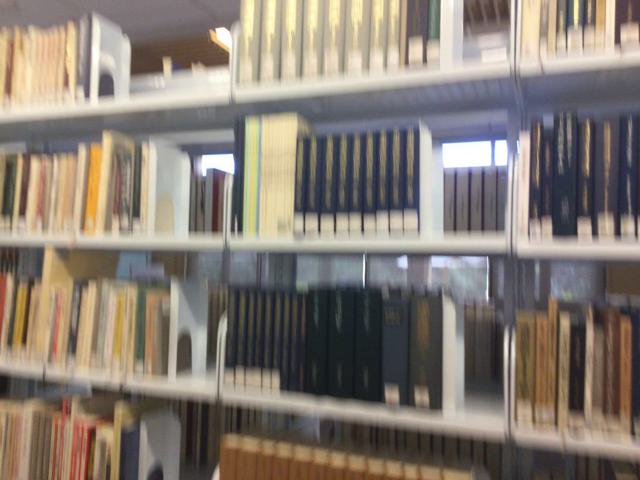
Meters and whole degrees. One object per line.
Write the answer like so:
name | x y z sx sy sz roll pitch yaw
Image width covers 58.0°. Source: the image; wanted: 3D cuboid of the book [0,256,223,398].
book | -0.660 0.200 1.530 0.760 0.270 0.240 3 0 19

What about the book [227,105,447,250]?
book | 0.040 -0.130 1.260 0.430 0.270 0.170 3 -4 20

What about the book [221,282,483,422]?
book | 0.070 0.220 1.240 0.520 0.220 0.180 3 -4 20

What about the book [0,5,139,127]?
book | -0.750 -0.450 1.550 0.500 0.240 0.150 1 -5 19

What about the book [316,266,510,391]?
book | 0.260 0.230 1.600 0.490 0.280 0.180 3 -4 20

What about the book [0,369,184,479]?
book | -0.710 0.510 1.520 0.660 0.260 0.210 1 -4 19

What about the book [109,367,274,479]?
book | -0.390 0.550 1.740 0.480 0.260 0.110 3 -4 20

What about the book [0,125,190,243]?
book | -0.690 -0.140 1.520 0.680 0.260 0.160 2 -4 19
